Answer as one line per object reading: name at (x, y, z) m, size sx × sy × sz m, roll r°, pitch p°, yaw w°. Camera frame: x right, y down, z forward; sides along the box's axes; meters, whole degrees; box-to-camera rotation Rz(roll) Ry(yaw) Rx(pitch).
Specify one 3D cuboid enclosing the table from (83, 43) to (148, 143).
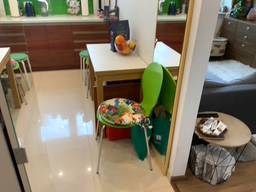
table at (-0.190, -0.100, 2.360) m, size 0.510 × 0.740 × 0.920 m, roll -4°, pitch 29°, yaw -13°

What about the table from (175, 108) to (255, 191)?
table at (0.700, 0.420, 1.760) m, size 0.420 × 0.460 × 0.410 m, roll -5°, pitch 29°, yaw -13°

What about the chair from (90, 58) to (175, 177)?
chair at (-0.010, 0.170, 1.750) m, size 0.550 × 0.850 × 0.440 m, roll -2°, pitch 29°, yaw -8°
